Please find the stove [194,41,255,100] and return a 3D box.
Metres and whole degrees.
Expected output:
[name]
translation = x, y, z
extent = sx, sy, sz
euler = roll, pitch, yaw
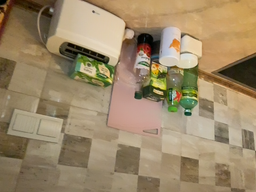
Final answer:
[stove]
translation = 0.760, -0.110, 1.020
extent = 0.630, 0.030, 0.560
euler = 15, 158, -22
